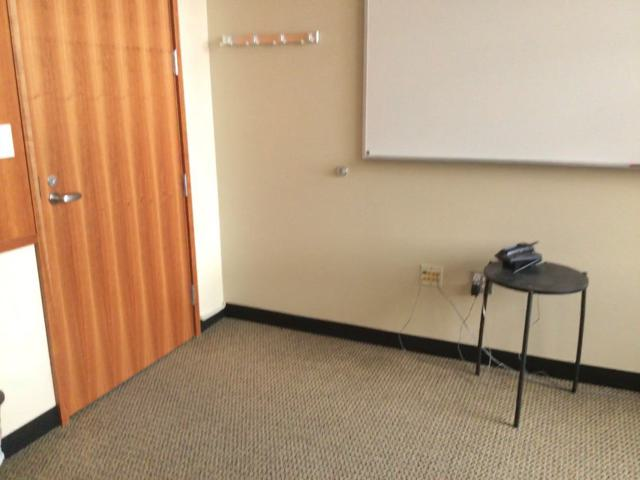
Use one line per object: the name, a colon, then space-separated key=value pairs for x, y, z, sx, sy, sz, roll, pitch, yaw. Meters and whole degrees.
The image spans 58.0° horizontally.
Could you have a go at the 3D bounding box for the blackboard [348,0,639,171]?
blackboard: x=0.960 y=-0.940 z=2.390 sx=1.730 sy=1.260 sz=0.200 roll=2 pitch=8 yaw=25
